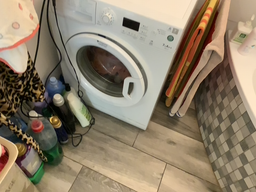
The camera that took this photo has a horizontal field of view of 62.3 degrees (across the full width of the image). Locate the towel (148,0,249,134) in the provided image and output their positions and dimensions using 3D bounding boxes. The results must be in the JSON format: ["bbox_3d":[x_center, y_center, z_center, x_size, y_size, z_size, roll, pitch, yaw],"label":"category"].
[{"bbox_3d":[0.380,-0.180,1.310,0.210,0.890,0.440,23,56,9],"label":"towel"}]

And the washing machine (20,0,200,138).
[{"bbox_3d":[-0.050,-0.320,1.270,0.680,0.840,0.630,23,56,8],"label":"washing machine"}]
